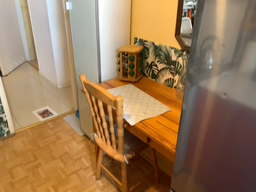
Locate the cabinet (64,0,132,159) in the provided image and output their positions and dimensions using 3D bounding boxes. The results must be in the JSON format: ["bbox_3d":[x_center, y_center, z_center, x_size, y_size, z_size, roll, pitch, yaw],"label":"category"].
[{"bbox_3d":[-0.240,-0.450,1.710,0.290,2.030,0.460,-21,34,-37],"label":"cabinet"}]

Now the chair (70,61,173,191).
[{"bbox_3d":[-0.050,0.290,1.490,0.460,0.920,0.420,-21,35,-37],"label":"chair"}]
